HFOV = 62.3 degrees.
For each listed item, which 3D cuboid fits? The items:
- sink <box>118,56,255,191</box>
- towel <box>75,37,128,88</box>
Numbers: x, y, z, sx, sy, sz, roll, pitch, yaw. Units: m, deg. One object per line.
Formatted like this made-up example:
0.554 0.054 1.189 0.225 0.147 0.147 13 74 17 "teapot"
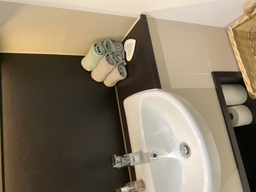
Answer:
0.180 0.210 0.820 0.450 0.190 0.570 -32 64 59 "sink"
-0.130 -0.150 1.000 0.170 0.180 0.170 -37 60 58 "towel"
